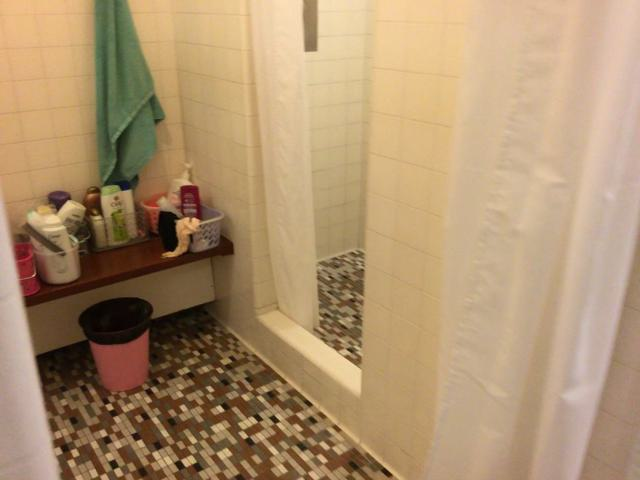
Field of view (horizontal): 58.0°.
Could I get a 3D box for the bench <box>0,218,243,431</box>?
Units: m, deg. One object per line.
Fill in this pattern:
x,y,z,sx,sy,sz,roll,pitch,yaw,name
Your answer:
-0.970,0.310,2.140,1.310,0.450,0.400,-16,25,-34,bench

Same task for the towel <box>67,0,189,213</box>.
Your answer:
-0.720,-0.640,2.160,0.320,1.030,0.140,-16,25,-34,towel
